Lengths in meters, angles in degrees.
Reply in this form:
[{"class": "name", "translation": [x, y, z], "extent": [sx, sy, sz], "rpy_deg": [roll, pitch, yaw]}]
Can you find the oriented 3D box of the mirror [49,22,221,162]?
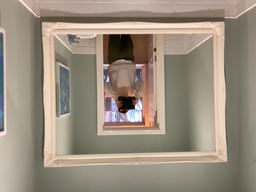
[{"class": "mirror", "translation": [0.070, -0.040, 1.660], "extent": [1.320, 1.070, 0.030], "rpy_deg": [-1, -179, -3]}]
